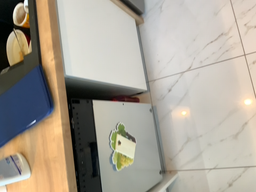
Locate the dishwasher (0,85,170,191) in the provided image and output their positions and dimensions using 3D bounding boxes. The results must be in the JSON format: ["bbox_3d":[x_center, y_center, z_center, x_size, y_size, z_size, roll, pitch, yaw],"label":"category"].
[{"bbox_3d":[-0.230,0.310,1.180,0.610,0.870,0.560,-9,82,29],"label":"dishwasher"}]
